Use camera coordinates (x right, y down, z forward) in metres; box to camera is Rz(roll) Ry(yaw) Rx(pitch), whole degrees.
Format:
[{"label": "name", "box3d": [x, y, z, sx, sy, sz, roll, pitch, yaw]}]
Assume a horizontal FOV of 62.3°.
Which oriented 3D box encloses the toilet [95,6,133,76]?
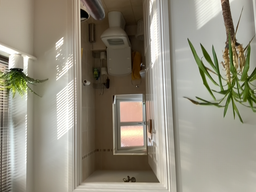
[{"label": "toilet", "box3d": [-0.190, -0.770, 3.190, 0.420, 0.820, 0.670, -2, 176, 8]}]
